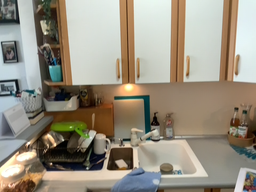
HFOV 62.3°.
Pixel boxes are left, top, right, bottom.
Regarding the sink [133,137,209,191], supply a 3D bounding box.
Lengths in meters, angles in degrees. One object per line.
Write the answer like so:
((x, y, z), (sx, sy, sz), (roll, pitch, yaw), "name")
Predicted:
((0.250, 0.490, 1.450), (0.410, 0.220, 0.500), (-2, 12, 0), "sink")

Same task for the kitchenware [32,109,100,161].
((-0.410, 0.260, 1.500), (0.380, 0.250, 0.310), (-2, 12, 0), "kitchenware")

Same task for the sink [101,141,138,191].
((-0.050, 0.460, 1.420), (0.210, 0.150, 0.410), (-2, 12, 0), "sink")

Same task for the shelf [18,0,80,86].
((-0.500, -0.450, 1.380), (0.260, 0.730, 0.280), (-2, 12, 0), "shelf")
